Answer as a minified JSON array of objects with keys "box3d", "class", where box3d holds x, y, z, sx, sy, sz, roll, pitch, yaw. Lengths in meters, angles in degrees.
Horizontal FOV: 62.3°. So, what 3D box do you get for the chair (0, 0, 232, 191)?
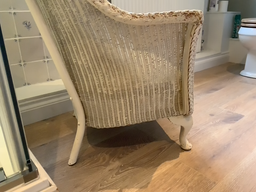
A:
[{"box3d":[-0.100,-0.200,0.850,0.630,0.760,0.650,-6,21,-12],"class":"chair"}]
